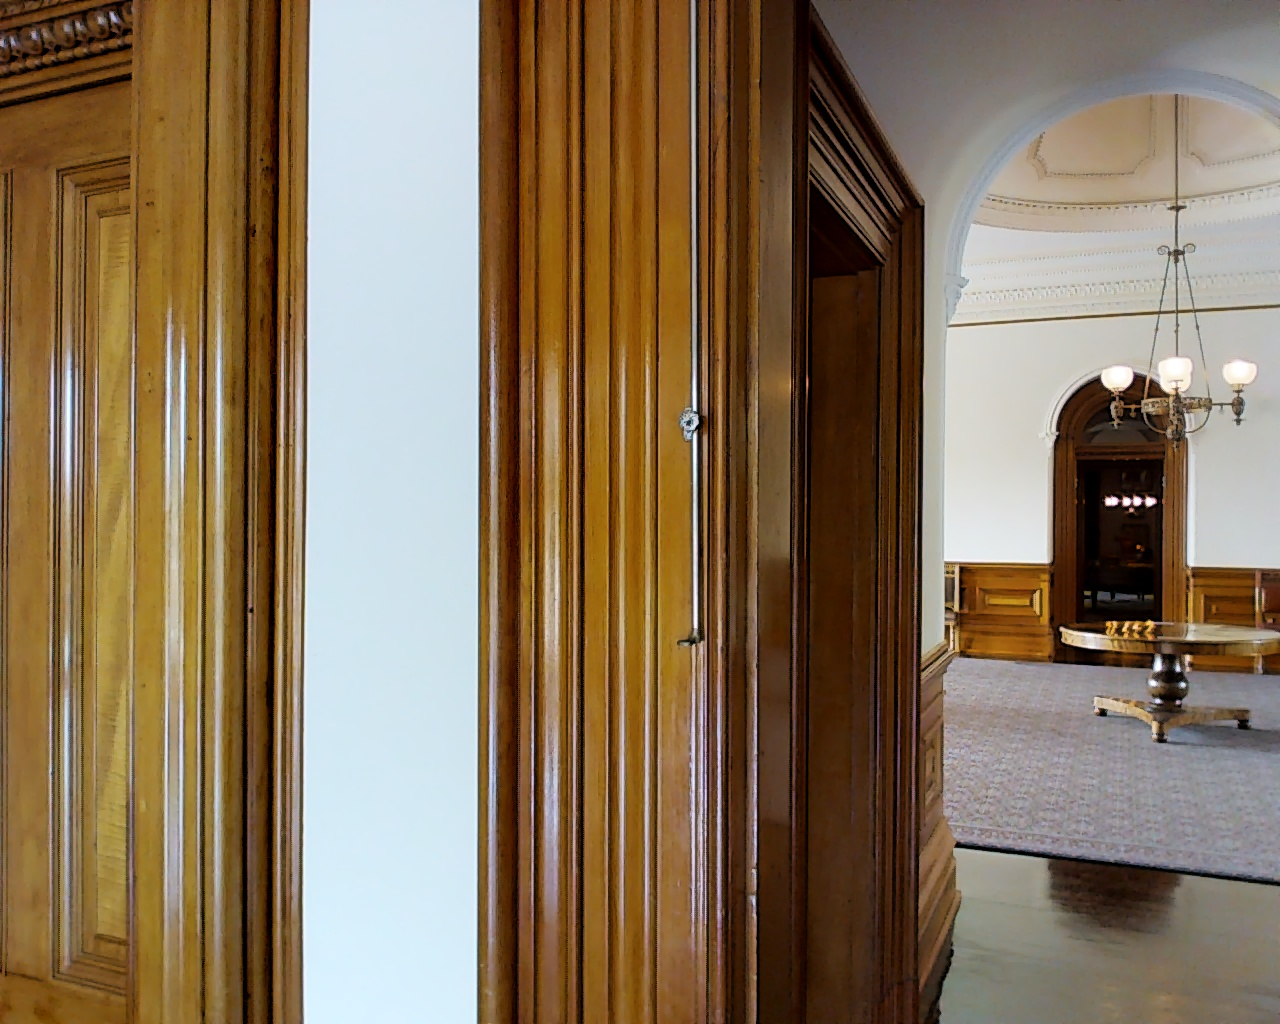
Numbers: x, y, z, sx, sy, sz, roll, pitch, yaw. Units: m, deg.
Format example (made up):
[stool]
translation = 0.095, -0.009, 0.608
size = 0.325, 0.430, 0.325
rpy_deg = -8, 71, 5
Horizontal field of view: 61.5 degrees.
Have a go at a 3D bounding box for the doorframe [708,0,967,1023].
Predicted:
[doorframe]
translation = 0.570, 0.240, 2.720
size = 0.270, 2.520, 1.470
rpy_deg = 1, 0, 25
